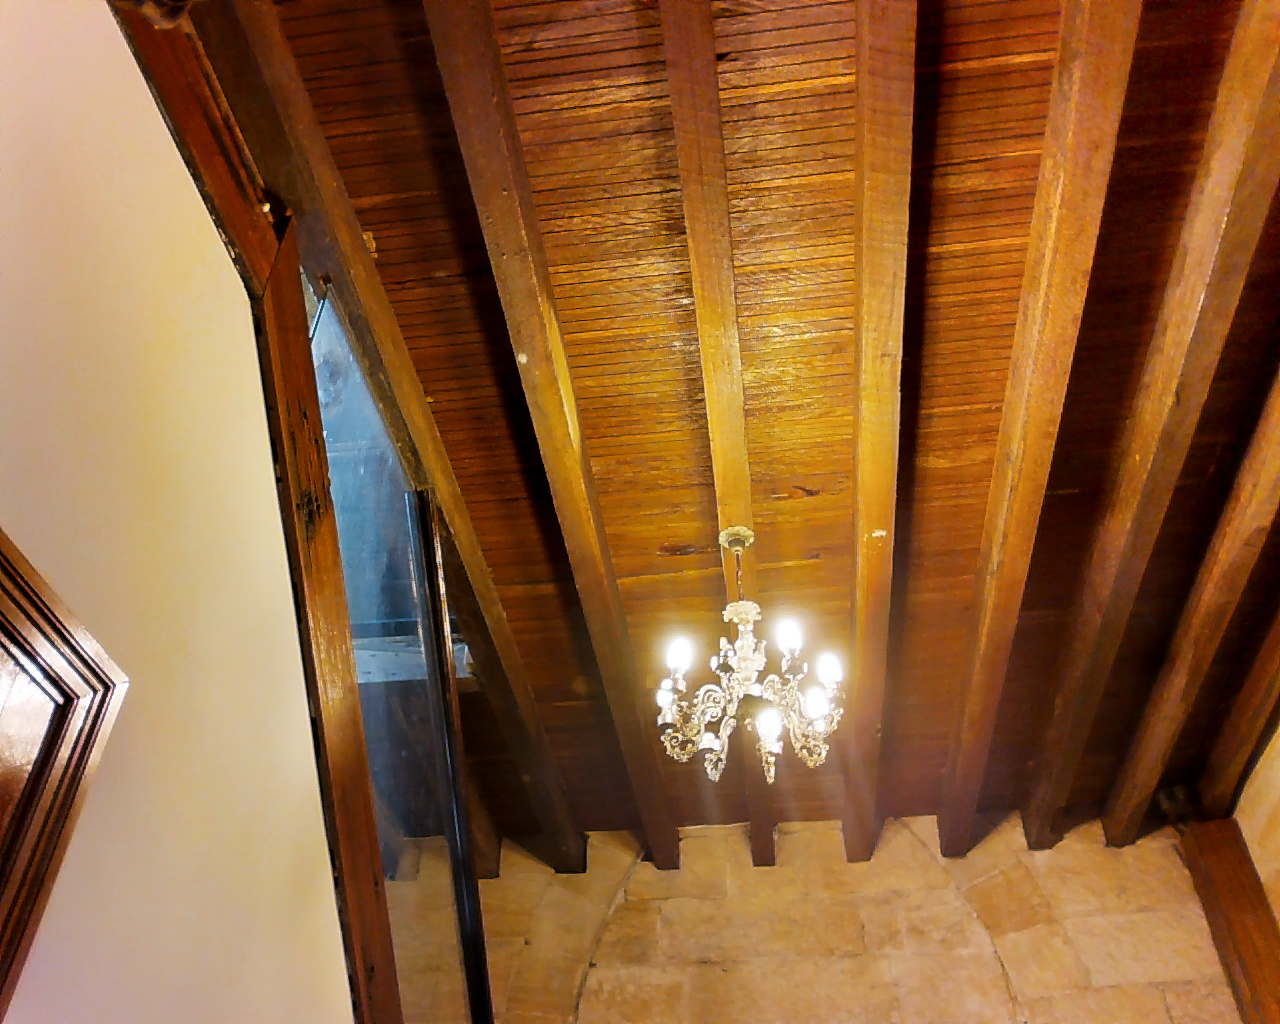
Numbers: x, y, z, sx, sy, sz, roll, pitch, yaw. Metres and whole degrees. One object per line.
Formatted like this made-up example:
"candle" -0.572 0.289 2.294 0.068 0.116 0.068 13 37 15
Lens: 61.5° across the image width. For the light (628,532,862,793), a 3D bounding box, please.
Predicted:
"light" 0.280 0.420 2.950 0.490 0.470 0.380 -20 -47 22
